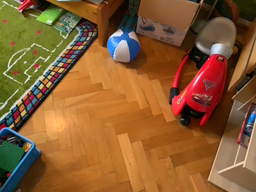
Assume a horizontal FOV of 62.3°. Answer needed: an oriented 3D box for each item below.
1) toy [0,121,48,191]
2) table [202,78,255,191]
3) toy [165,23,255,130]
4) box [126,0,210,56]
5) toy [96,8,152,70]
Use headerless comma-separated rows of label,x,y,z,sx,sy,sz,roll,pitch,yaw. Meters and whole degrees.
toy,-0.660,0.360,1.150,0.240,0.160,0.340,25,62,7
table,0.820,0.280,1.180,0.480,0.440,0.610,27,62,8
toy,0.530,-0.120,1.380,0.320,0.380,0.480,29,63,9
box,0.370,-0.780,1.690,0.500,0.440,0.630,28,62,9
toy,-0.030,-0.440,1.620,0.270,0.200,0.350,28,62,9
